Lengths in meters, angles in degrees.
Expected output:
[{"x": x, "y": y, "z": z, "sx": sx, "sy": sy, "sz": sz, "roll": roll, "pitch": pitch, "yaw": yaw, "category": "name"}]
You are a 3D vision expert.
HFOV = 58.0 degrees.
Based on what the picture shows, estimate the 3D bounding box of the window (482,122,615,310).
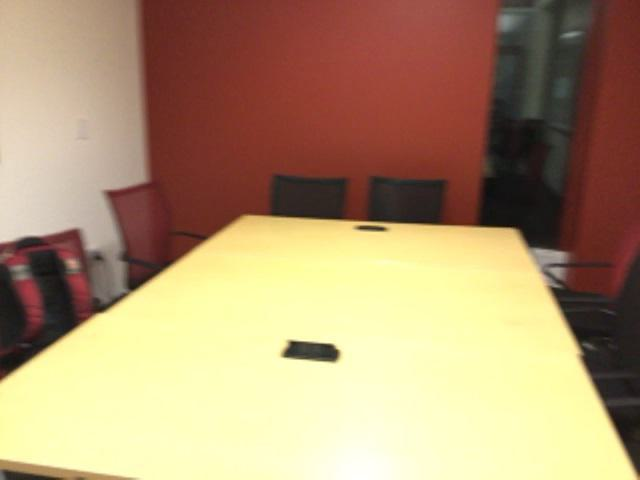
[{"x": 1.370, "y": -0.160, "z": 3.570, "sx": 0.640, "sy": 1.090, "sz": 0.300, "roll": 4, "pitch": 15, "yaw": 14, "category": "window"}]

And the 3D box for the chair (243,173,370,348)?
[{"x": -0.060, "y": 0.090, "z": 3.240, "sx": 0.600, "sy": 0.860, "sz": 0.420, "roll": 4, "pitch": 15, "yaw": 14, "category": "chair"}]

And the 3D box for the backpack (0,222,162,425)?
[{"x": -0.860, "y": 0.240, "z": 1.920, "sx": 0.450, "sy": 0.490, "sz": 0.460, "roll": 4, "pitch": 15, "yaw": 14, "category": "backpack"}]

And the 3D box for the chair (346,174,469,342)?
[{"x": 0.490, "y": 0.070, "z": 3.180, "sx": 0.590, "sy": 0.780, "sz": 0.500, "roll": 4, "pitch": 15, "yaw": 14, "category": "chair"}]

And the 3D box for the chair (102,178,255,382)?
[{"x": -0.700, "y": 0.170, "z": 3.030, "sx": 0.520, "sy": 0.900, "sz": 0.580, "roll": 4, "pitch": 15, "yaw": 14, "category": "chair"}]

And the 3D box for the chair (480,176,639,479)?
[{"x": 1.100, "y": 0.280, "z": 2.430, "sx": 0.670, "sy": 0.960, "sz": 0.840, "roll": 6, "pitch": 15, "yaw": 21, "category": "chair"}]

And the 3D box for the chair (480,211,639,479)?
[{"x": 0.930, "y": 0.430, "z": 2.010, "sx": 0.650, "sy": 0.930, "sz": 0.590, "roll": 4, "pitch": 15, "yaw": 14, "category": "chair"}]
